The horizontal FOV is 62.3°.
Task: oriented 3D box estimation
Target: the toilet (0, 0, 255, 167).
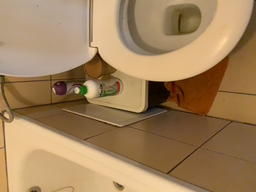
[{"bbox_3d":[-0.030,-0.240,0.590,0.650,0.800,0.370,12,104,36],"label":"toilet"}]
